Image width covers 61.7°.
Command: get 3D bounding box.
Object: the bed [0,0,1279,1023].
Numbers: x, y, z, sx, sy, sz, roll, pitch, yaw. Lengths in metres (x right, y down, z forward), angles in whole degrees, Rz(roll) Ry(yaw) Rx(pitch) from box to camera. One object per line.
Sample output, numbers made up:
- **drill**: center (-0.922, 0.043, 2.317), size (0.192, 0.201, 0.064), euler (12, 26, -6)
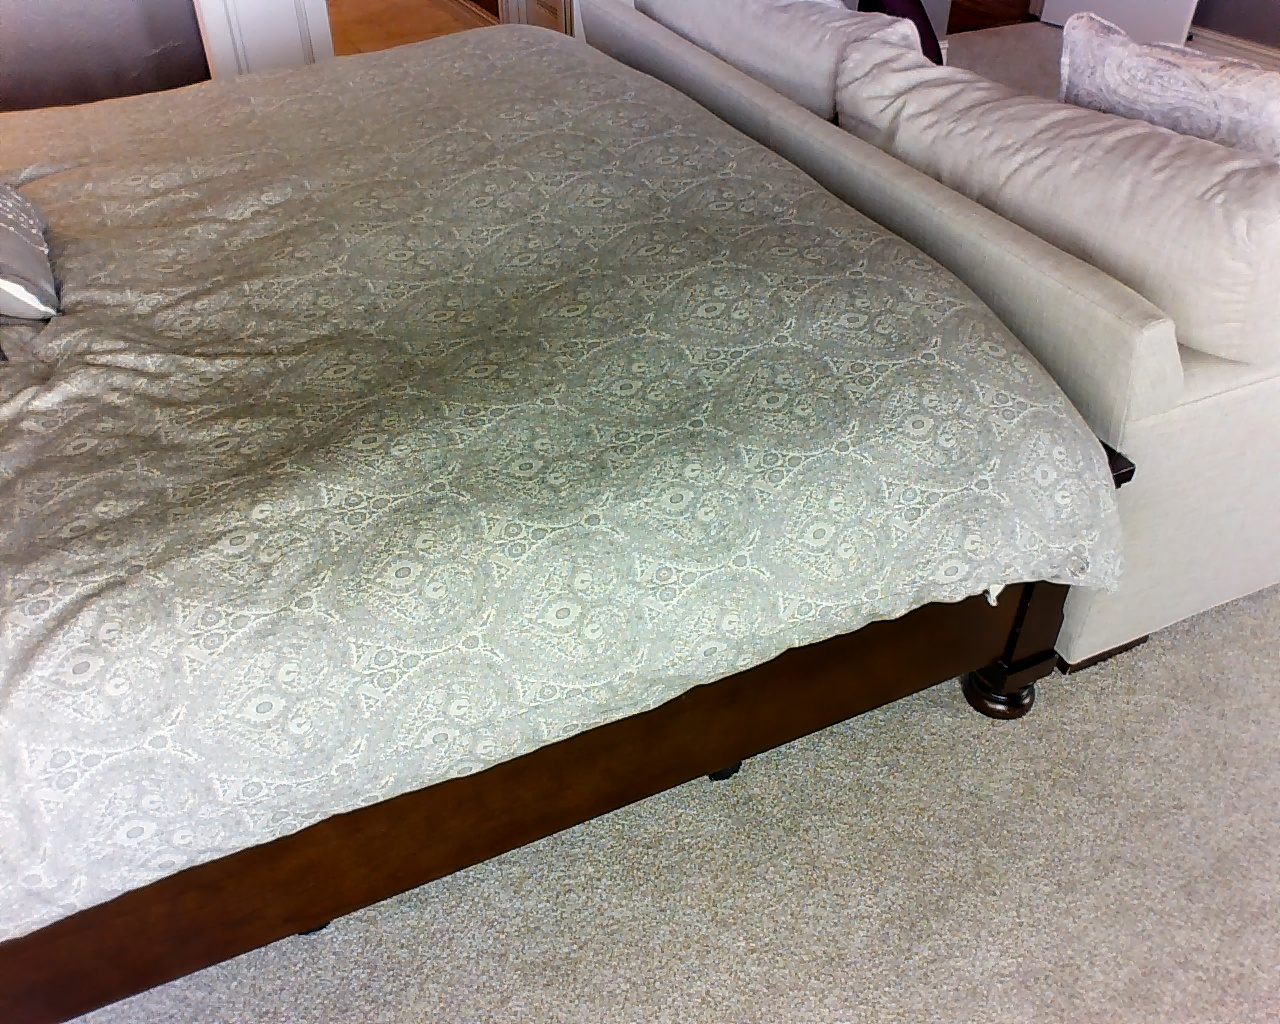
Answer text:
- **bed**: center (-0.780, -0.210, 1.980), size (2.420, 0.780, 2.380), euler (-18, 43, -19)
